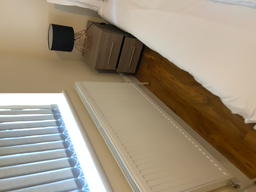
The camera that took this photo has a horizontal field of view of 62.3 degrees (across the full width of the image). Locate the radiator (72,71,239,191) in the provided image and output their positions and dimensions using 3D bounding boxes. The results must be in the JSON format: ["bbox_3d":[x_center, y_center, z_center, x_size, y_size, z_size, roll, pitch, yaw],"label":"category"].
[{"bbox_3d":[0.090,0.150,1.540,1.210,0.680,0.090,50,130,47],"label":"radiator"}]
